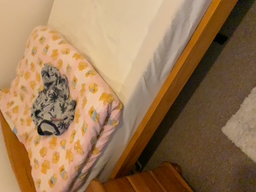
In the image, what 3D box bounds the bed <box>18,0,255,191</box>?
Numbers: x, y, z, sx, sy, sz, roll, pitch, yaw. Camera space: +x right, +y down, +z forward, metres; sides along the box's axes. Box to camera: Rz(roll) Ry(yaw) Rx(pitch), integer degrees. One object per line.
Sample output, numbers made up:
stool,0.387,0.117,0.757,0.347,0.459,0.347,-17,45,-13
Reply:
bed,0.050,-0.510,1.070,1.030,0.490,2.030,48,120,37
